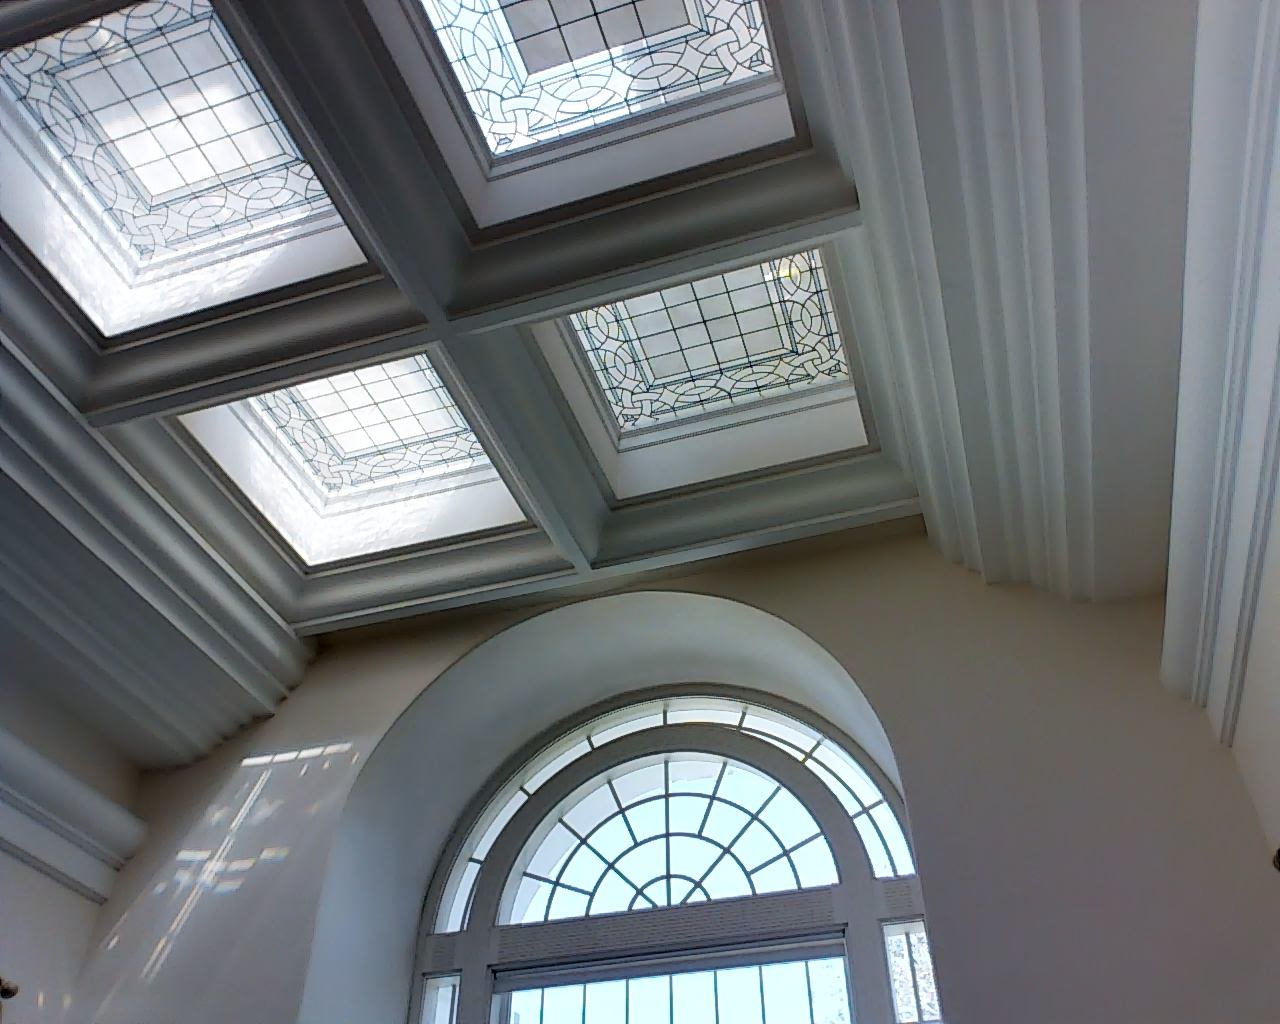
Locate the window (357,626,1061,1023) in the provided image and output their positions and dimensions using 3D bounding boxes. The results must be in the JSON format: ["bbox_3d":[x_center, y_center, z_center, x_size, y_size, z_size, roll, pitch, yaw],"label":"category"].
[{"bbox_3d":[0.250,3.280,6.450,4.380,5.160,0.260,-12,-43,13],"label":"window"}]
